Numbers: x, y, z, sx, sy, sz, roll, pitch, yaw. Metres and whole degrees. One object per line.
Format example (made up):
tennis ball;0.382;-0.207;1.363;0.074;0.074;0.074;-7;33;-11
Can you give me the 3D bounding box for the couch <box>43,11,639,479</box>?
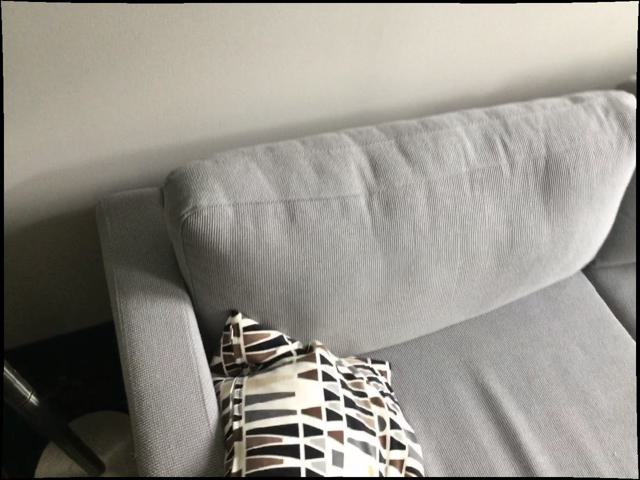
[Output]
couch;0.678;0.170;1.260;2.106;0.770;1.011;-14;61;-14
